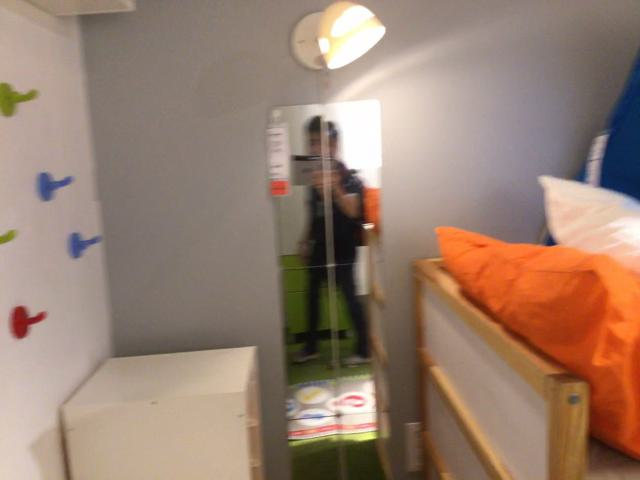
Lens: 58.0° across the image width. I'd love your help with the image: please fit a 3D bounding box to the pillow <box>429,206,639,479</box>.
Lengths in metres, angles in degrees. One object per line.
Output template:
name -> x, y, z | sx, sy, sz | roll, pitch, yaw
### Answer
pillow -> 0.500, 0.180, 1.120 | 0.400, 0.400, 0.750 | -2, 10, -3
